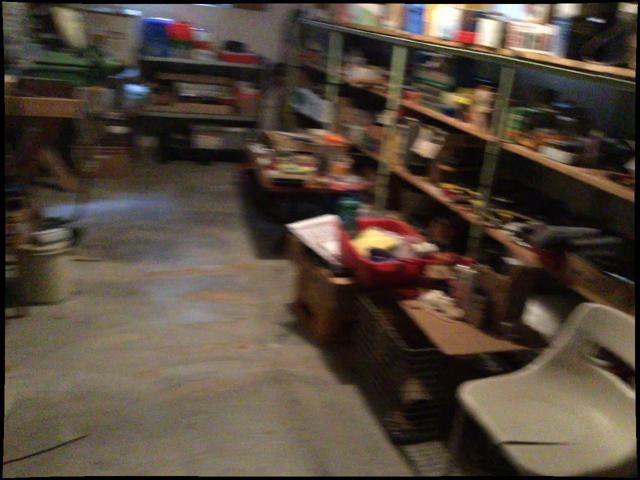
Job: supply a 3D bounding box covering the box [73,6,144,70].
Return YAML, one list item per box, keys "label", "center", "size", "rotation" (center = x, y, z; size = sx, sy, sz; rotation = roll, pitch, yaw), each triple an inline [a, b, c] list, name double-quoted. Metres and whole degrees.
- label: "box"
  center: [-1.768, -1.702, 4.870]
  size: [0.520, 0.440, 0.400]
  rotation: [-3, 24, -19]

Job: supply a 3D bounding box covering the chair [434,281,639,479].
- label: "chair"
  center: [0.679, 0.410, 1.620]
  size: [0.480, 0.380, 0.480]
  rotation: [-3, 24, -19]

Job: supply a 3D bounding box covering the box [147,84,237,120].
- label: "box"
  center: [-1.149, -1.231, 5.150]
  size: [0.719, 0.200, 0.500]
  rotation: [-3, 24, -19]
